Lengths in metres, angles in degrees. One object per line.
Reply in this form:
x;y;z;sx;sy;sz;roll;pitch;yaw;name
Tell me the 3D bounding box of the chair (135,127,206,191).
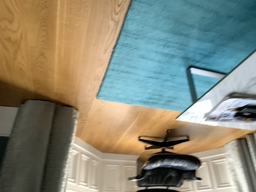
0.440;0.940;2.580;0.570;0.830;0.830;3;148;-7;chair
